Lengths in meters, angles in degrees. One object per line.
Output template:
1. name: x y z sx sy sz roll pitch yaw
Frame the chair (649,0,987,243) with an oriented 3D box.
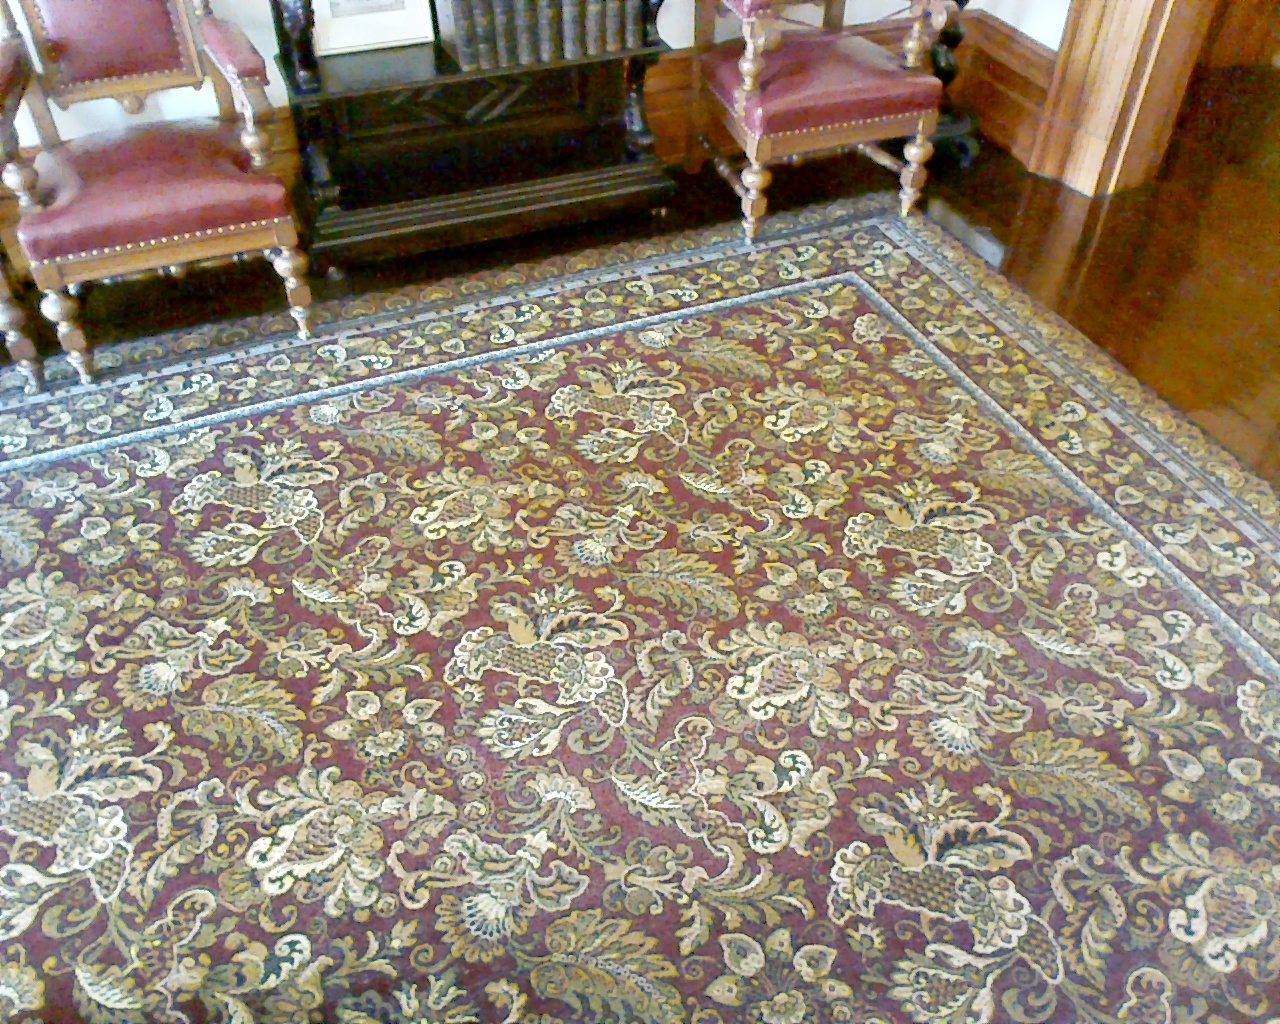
1. chair: 0.490 -1.580 3.030 0.650 1.300 0.760 -16 46 -17

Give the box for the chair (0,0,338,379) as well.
1. chair: -1.210 -1.100 2.520 0.630 1.270 0.730 -16 46 -17

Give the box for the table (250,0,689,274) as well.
1. table: -0.460 -1.310 2.930 1.070 1.000 0.490 -16 46 -17
